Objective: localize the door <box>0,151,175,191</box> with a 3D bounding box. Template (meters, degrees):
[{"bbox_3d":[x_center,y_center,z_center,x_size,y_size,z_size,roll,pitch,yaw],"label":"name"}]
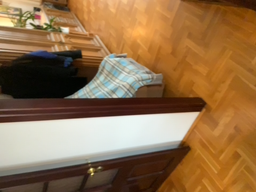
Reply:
[{"bbox_3d":[-0.470,0.890,1.910,0.120,1.850,0.720,60,139,40],"label":"door"}]
